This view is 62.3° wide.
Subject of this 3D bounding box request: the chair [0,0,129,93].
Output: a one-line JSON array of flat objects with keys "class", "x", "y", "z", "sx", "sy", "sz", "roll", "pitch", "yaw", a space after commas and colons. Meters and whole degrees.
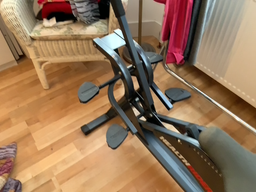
[{"class": "chair", "x": -0.360, "y": -0.560, "z": 1.440, "sx": 0.690, "sy": 0.830, "sz": 0.650, "roll": -3, "pitch": 49, "yaw": -2}]
